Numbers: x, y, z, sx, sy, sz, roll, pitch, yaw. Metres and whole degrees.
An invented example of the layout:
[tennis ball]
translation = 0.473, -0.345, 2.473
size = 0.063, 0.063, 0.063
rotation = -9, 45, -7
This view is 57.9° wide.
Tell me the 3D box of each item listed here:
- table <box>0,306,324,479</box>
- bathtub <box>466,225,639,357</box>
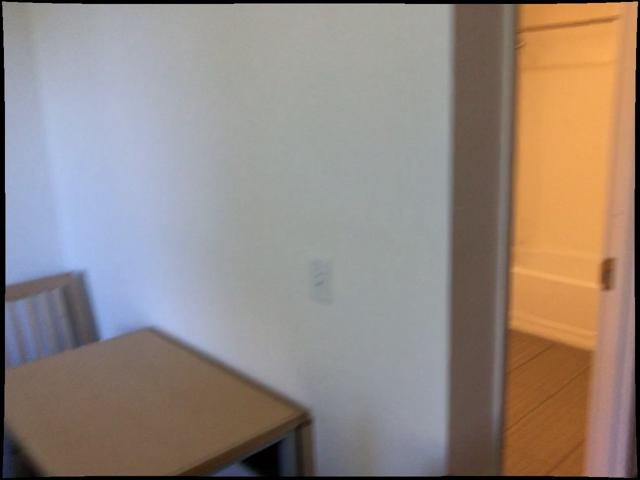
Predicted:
[table]
translation = -0.589, 0.771, 1.840
size = 0.650, 0.721, 1.080
rotation = -17, 20, -41
[bathtub]
translation = 1.808, 0.300, 3.780
size = 0.780, 0.450, 1.469
rotation = -17, 20, -41
